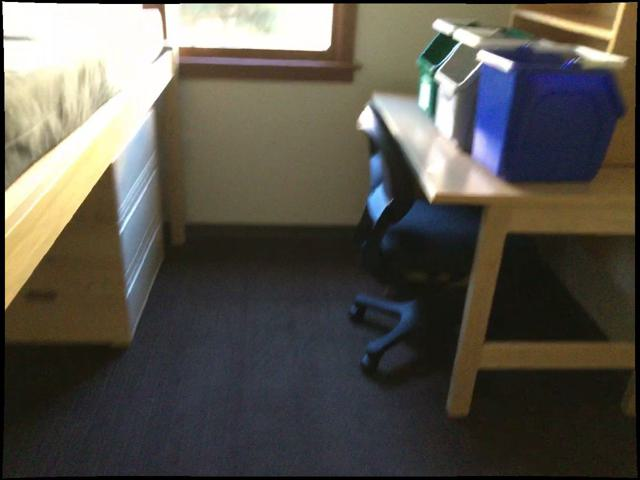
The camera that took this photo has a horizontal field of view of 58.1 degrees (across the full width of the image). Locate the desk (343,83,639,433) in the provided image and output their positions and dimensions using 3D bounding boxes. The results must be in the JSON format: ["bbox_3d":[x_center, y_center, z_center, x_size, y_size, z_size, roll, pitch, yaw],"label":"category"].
[{"bbox_3d":[0.628,-0.050,2.270,0.868,0.802,1.331,0,28,-6],"label":"desk"}]

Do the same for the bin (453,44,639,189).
[{"bbox_3d":[0.628,-0.361,1.670,0.359,0.341,0.280,0,28,-6],"label":"bin"}]

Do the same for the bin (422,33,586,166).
[{"bbox_3d":[0.569,-0.461,1.870,0.359,0.341,0.320,0,28,-6],"label":"bin"}]
